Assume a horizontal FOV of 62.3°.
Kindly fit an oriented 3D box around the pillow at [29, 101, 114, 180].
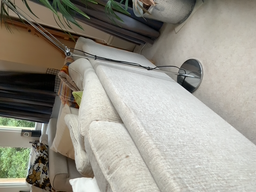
[{"bbox_3d":[-0.440,0.390,1.790,0.170,0.510,0.500,43,161,40],"label":"pillow"}]
